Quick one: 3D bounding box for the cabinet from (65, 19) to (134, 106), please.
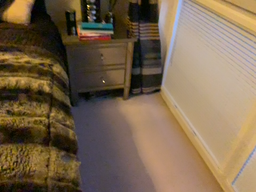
[{"bbox_3d":[-0.260,-0.300,1.800,0.450,0.530,0.480,-7,39,-15],"label":"cabinet"}]
